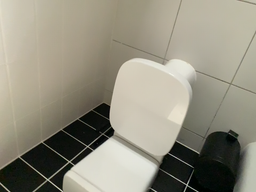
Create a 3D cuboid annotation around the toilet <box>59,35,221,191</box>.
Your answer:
[{"bbox_3d":[0.080,0.130,1.070,0.370,0.760,0.650,27,125,21],"label":"toilet"}]
